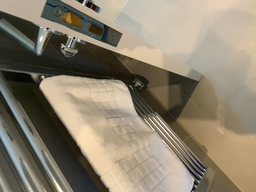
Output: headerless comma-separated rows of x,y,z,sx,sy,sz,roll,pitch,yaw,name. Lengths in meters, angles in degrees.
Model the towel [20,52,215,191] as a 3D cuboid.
0.030,0.090,0.600,0.090,0.480,0.420,-48,70,19,towel
